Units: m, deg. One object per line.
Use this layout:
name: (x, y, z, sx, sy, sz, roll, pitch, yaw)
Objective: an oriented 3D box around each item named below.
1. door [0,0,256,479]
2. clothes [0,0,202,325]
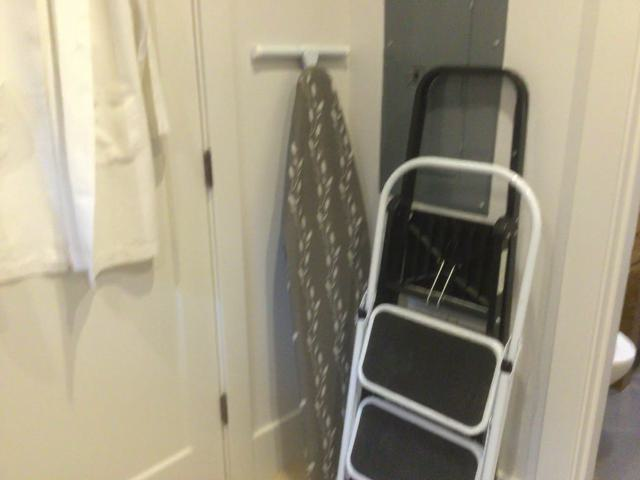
door: (-0.540, -0.040, 1.210, 0.860, 2.000, 0.120, -17, 25, -41)
clothes: (-0.550, -0.370, 1.070, 0.610, 1.020, 0.140, -17, 25, -41)
